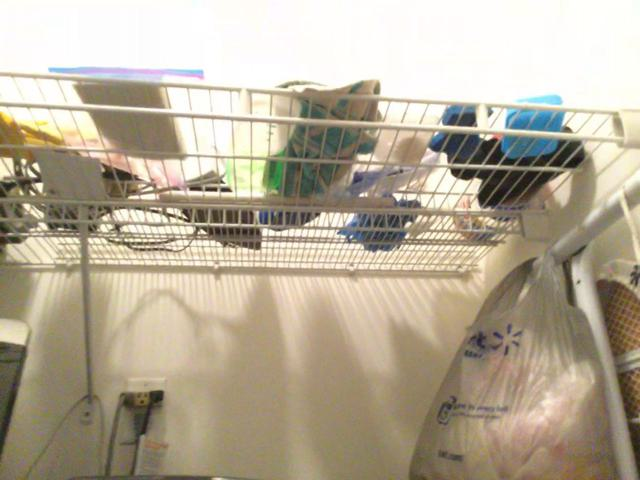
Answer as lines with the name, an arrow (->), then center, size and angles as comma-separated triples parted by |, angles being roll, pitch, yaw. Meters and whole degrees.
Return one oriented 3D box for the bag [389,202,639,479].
bag -> 0.280, 0.240, 0.820 | 0.270, 0.490, 0.300 | 3, -24, -7
